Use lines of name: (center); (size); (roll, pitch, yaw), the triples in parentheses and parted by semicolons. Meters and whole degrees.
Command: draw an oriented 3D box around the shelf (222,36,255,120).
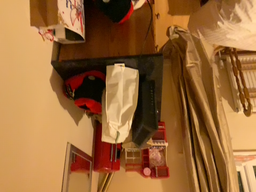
shelf: (1.310, -0.190, 1.900); (0.720, 0.770, 0.160); (-3, 155, 6)
